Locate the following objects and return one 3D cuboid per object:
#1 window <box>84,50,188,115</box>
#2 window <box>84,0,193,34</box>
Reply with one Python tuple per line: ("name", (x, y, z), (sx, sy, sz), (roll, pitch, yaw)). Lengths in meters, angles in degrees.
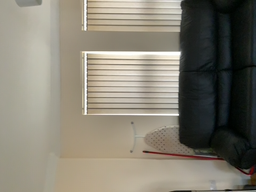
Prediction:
("window", (0.100, -0.180, 2.880), (0.050, 1.390, 0.860), (-112, 22, -86))
("window", (0.140, -1.250, 2.820), (0.030, 1.450, 0.810), (-115, 25, -86))
